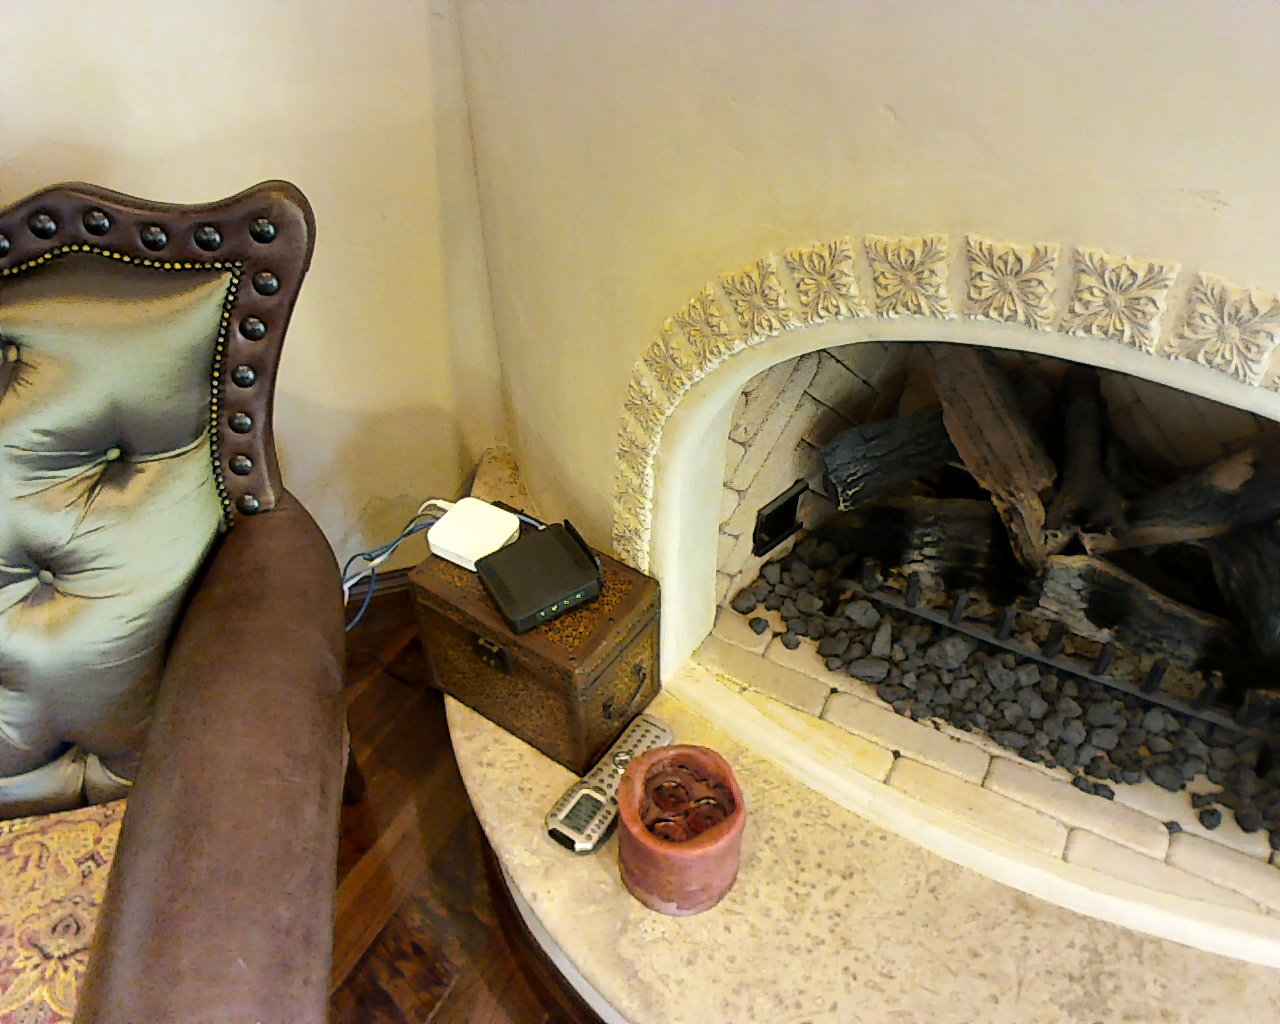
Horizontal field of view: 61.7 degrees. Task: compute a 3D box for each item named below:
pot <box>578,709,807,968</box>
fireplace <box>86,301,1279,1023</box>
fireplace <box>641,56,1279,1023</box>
[{"bbox_3d":[0.060,0.390,1.300,0.190,0.140,0.190,-28,49,-27],"label":"pot"},{"bbox_3d":[0.520,0.410,1.620,1.870,0.450,1.490,13,44,14],"label":"fireplace"},{"bbox_3d":[0.570,0.010,1.280,0.940,0.720,0.650,21,46,21],"label":"fireplace"}]
